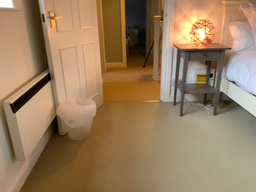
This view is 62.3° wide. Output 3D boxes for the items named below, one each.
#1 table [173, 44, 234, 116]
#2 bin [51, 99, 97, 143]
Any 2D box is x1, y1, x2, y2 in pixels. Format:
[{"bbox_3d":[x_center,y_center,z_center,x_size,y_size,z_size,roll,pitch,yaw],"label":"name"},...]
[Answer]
[{"bbox_3d":[0.760,-0.180,2.260,0.450,0.670,0.420,-1,22,2],"label":"table"},{"bbox_3d":[-0.450,0.210,1.840,0.290,0.280,0.280,-1,22,1],"label":"bin"}]
